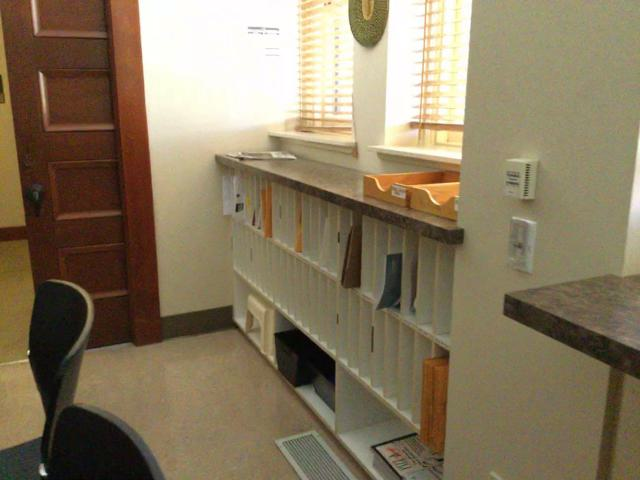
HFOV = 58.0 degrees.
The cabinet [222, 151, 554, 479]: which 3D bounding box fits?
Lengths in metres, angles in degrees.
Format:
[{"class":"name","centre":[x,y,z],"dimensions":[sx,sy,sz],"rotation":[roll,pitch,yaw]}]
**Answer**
[{"class":"cabinet","centre":[0.010,0.220,2.620],"dimensions":[0.320,1.010,2.300],"rotation":[-5,16,-23]}]

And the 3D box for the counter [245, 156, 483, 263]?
[{"class":"counter","centre":[0.020,-0.180,2.120],"dimensions":[0.140,0.090,1.600],"rotation":[-5,16,-23]}]
